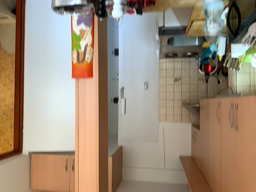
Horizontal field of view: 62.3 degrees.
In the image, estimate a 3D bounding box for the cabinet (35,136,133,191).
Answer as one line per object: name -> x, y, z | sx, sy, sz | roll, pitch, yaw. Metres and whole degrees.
cabinet -> -0.490, 0.850, 2.850 | 0.980, 0.430, 1.040 | 0, 178, 9
